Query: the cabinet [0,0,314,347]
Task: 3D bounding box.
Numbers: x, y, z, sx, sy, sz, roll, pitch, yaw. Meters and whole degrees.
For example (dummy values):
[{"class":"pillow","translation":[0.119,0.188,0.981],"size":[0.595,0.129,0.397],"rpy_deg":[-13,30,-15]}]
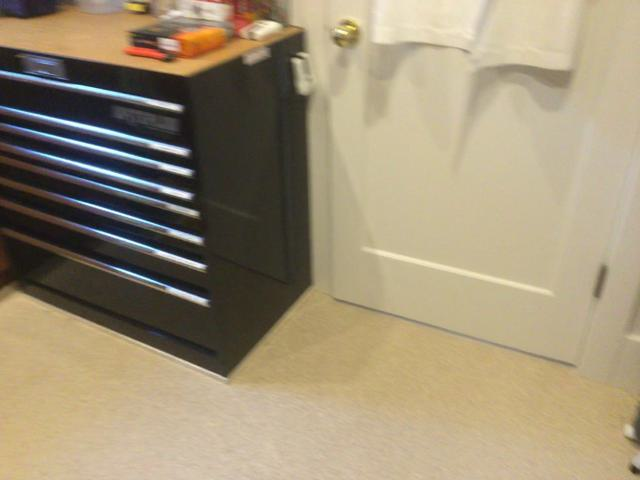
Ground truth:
[{"class":"cabinet","translation":[-0.580,-0.310,1.740],"size":[0.970,0.840,0.550],"rpy_deg":[14,33,23]}]
